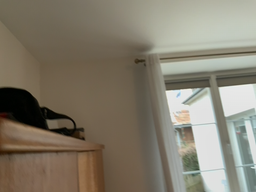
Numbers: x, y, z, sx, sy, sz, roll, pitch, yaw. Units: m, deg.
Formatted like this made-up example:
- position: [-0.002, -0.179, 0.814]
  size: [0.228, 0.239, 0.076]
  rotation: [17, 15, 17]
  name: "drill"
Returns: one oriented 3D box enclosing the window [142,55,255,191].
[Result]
- position: [1.110, 0.500, 2.640]
  size: [1.630, 1.970, 0.200]
  rotation: [-5, -13, -5]
  name: "window"
